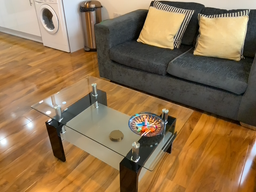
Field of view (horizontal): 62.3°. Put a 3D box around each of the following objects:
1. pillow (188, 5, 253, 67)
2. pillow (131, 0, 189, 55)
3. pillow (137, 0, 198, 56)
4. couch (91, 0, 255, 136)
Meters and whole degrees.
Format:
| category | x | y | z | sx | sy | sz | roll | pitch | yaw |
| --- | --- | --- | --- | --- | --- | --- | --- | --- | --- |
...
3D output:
| category | x | y | z | sx | sy | sz | roll | pitch | yaw |
| --- | --- | --- | --- | --- | --- | --- | --- | --- | --- |
| pillow | 0.870 | -0.550 | 2.000 | 0.480 | 0.440 | 0.200 | -7 | 22 | 29 |
| pillow | 0.340 | -0.740 | 2.300 | 0.460 | 0.410 | 0.200 | -17 | 15 | 40 |
| pillow | 0.440 | -0.800 | 2.410 | 0.520 | 0.530 | 0.140 | -14 | 17 | 48 |
| couch | 0.630 | -0.480 | 2.260 | 1.720 | 0.780 | 1.020 | 19 | 37 | 27 |
